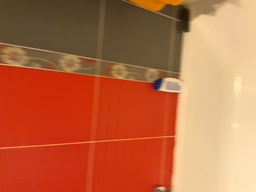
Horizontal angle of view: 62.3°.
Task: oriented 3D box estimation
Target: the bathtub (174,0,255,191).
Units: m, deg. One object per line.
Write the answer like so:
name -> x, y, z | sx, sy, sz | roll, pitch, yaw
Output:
bathtub -> 0.720, 0.250, 1.140 | 0.670, 0.570, 1.470 | 4, 90, 55
